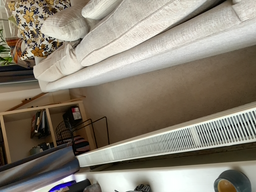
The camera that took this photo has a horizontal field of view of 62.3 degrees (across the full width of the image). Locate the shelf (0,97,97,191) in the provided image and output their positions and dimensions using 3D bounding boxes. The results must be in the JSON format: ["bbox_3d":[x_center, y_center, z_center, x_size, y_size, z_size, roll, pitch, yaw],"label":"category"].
[{"bbox_3d":[-1.210,0.590,2.670,0.480,1.370,0.860,-31,73,51],"label":"shelf"}]

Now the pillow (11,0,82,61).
[{"bbox_3d":[-0.730,-0.600,1.940,0.260,0.480,0.430,-18,80,33],"label":"pillow"}]
